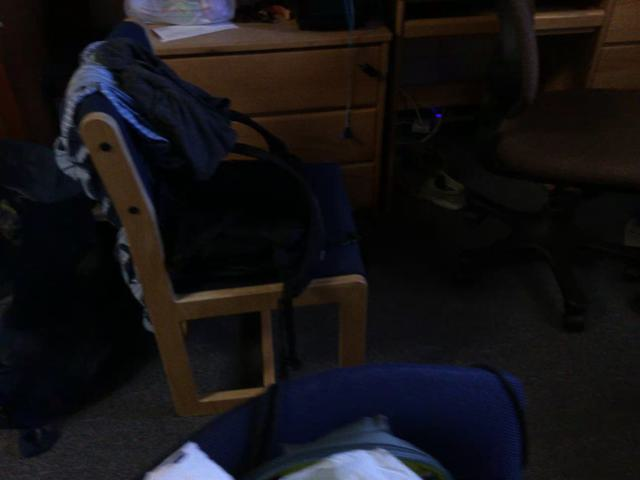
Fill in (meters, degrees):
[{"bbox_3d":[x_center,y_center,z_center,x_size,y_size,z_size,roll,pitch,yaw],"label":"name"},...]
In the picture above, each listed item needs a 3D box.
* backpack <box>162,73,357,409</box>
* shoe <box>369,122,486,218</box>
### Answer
[{"bbox_3d":[-0.160,-0.020,1.350,0.330,0.500,0.570,-7,41,-10],"label":"backpack"},{"bbox_3d":[0.390,-0.280,2.190,0.280,0.090,0.480,-7,41,-9],"label":"shoe"}]
